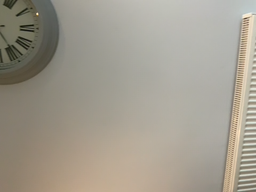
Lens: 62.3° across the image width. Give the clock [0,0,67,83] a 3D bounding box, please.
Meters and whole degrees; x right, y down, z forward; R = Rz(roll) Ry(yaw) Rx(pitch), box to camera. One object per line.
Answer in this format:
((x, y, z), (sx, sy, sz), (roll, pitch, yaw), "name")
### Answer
((-0.580, -0.320, 0.940), (0.060, 0.580, 0.510), (-135, 47, -73), "clock")
